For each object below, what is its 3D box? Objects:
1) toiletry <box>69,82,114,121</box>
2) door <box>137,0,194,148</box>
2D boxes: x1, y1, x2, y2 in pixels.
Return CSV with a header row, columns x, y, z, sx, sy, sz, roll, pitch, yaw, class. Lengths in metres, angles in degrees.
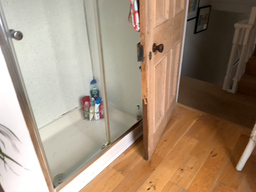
x,y,z,sx,sy,sz,roll,pitch,yaw,class
-0.330,0.050,2.020,0.380,0.290,0.210,-3,31,-4,toiletry
0.290,-0.630,1.400,0.110,1.900,0.800,15,34,24,door
